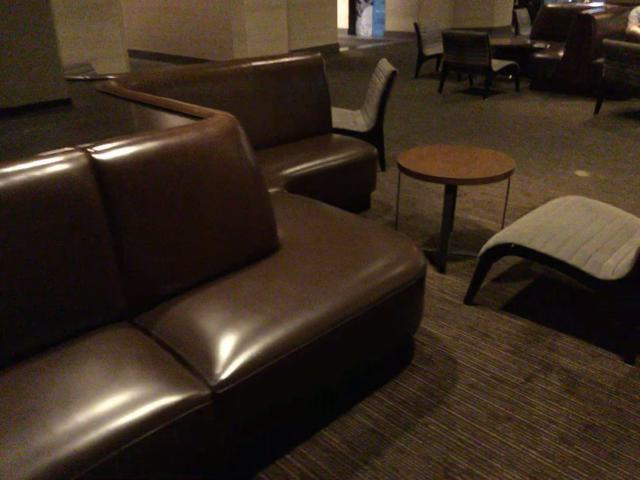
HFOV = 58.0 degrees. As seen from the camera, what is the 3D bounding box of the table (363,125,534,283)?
[{"bbox_3d":[0.620,-0.210,2.850,0.580,0.490,0.560,-26,35,-37],"label":"table"}]
